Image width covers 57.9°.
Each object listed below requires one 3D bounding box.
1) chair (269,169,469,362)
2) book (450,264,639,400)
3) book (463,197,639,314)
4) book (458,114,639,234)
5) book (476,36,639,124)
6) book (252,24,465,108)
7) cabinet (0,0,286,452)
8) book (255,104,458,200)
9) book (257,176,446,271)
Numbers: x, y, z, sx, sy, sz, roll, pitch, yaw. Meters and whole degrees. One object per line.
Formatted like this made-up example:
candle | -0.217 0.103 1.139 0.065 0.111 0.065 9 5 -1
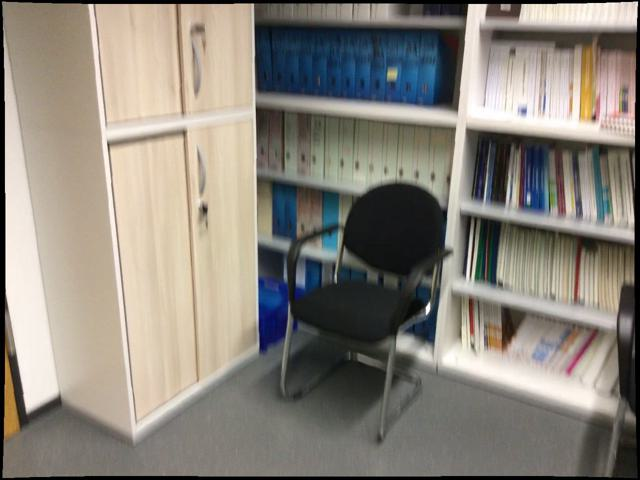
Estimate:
chair | 0.220 0.050 2.370 0.530 0.480 0.710 12 24 29
book | 1.069 0.390 2.610 0.859 0.300 0.330 12 24 29
book | 1.069 0.050 2.530 0.789 0.300 0.290 12 24 29
book | 1.199 -0.260 2.300 1.169 0.330 0.420 12 24 29
book | 1.219 -0.611 2.200 1.149 0.290 0.300 12 24 29
book | 0.160 -0.861 2.790 0.979 0.330 0.290 12 24 29
cabinet | -0.629 -0.480 2.230 0.530 2.302 0.920 12 24 29
book | 0.130 -0.440 2.790 1.059 0.340 0.040 12 24 29
book | 0.120 -0.100 2.920 1.019 0.300 0.080 12 24 29
